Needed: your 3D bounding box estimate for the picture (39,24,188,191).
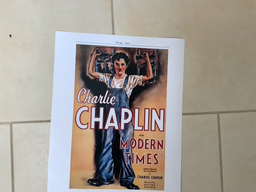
[{"bbox_3d":[-0.020,0.050,0.330,0.210,0.020,0.300,4,88,-5],"label":"picture"}]
